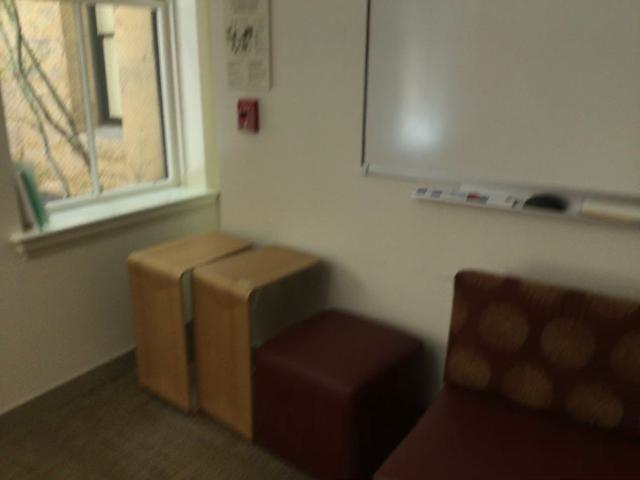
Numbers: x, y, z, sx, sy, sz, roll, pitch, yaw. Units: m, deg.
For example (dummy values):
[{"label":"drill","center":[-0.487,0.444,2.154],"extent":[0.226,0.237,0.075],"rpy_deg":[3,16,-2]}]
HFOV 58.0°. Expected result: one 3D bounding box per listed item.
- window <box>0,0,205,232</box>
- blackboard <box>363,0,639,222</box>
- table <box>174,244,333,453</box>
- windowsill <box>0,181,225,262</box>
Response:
[{"label":"window","center":[-1.050,-0.650,2.570],"extent":[0.390,1.000,1.020],"rpy_deg":[11,18,35]},{"label":"blackboard","center":[0.650,-0.550,1.740],"extent":[1.170,0.910,0.060],"rpy_deg":[11,18,35]},{"label":"table","center":[-0.260,0.410,2.400],"extent":[0.420,0.640,0.480],"rpy_deg":[11,18,35]},{"label":"windowsill","center":[-0.920,-0.120,2.670],"extent":[0.240,0.150,1.090],"rpy_deg":[11,18,35]}]
